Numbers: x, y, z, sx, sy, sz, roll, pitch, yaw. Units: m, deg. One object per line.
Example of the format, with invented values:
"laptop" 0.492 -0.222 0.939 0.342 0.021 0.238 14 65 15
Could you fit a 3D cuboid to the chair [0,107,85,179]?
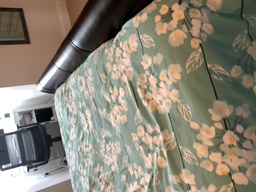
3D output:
"chair" -1.310 0.620 2.840 0.740 1.150 0.630 -26 77 54
